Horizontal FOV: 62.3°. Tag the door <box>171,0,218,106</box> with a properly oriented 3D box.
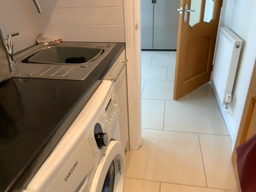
[{"bbox_3d":[0.760,-0.870,2.280,0.670,1.940,0.070,-25,35,-37],"label":"door"}]
